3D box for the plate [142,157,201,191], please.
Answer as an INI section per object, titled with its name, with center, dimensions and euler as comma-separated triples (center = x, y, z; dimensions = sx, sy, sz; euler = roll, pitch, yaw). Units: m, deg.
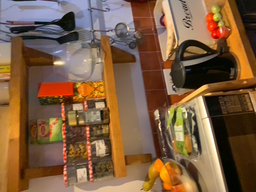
[plate]
center = 0.160, 0.370, 0.800
dimensions = 0.250, 0.120, 0.250
euler = 123, 142, -69
